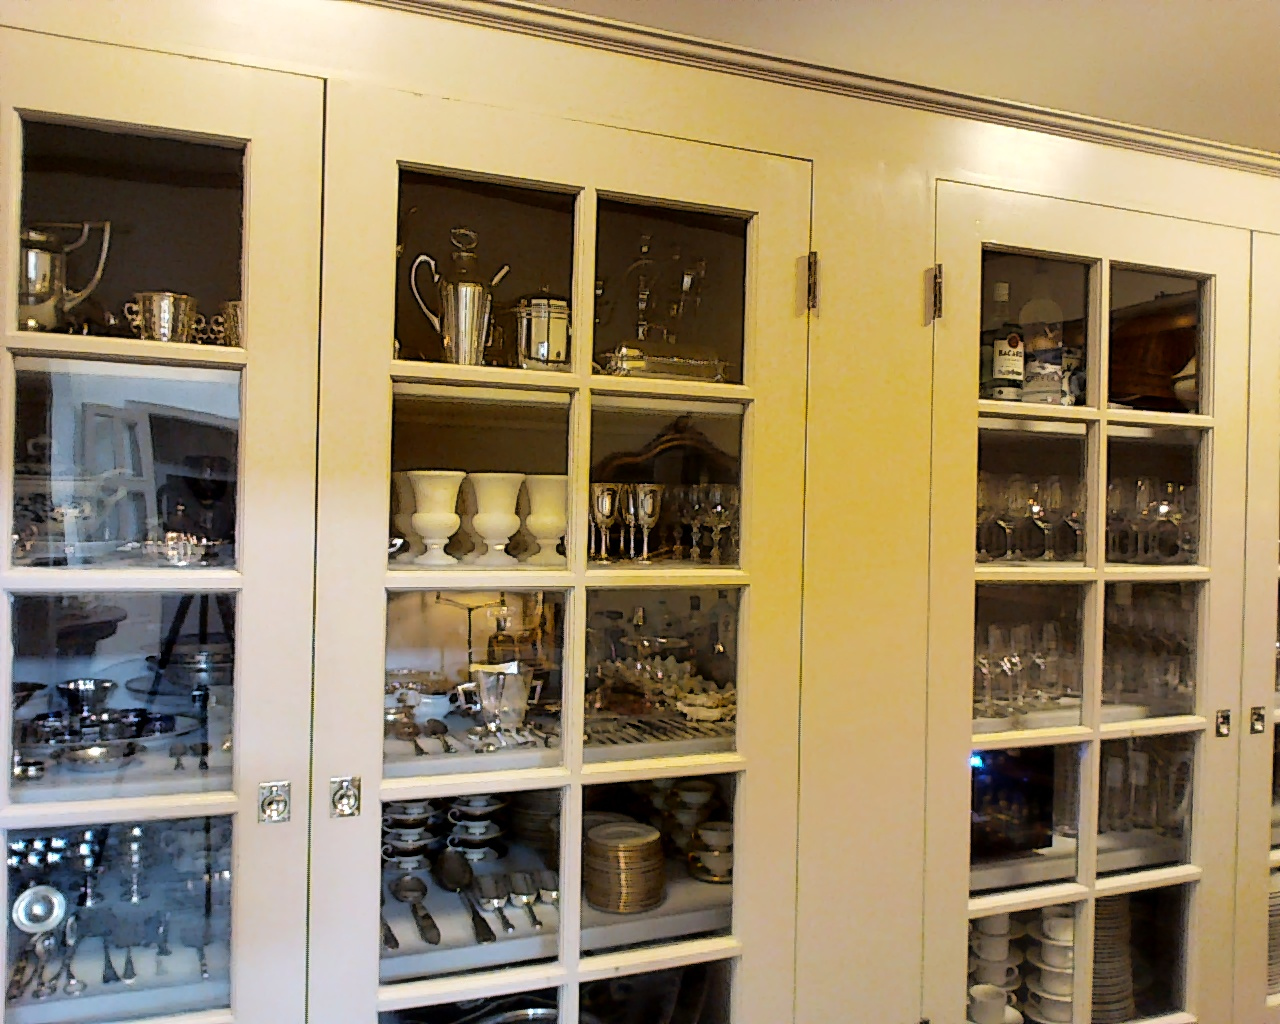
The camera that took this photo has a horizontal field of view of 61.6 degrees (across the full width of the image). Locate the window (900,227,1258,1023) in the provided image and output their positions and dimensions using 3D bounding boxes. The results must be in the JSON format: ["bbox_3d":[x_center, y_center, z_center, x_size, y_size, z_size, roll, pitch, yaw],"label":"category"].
[{"bbox_3d":[1.030,0.300,2.500,0.820,1.780,0.240,1,0,-22],"label":"window"}]

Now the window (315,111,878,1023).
[{"bbox_3d":[-0.070,0.440,2.080,1.040,2.180,0.280,1,0,-22],"label":"window"}]

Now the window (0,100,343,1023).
[{"bbox_3d":[-0.830,0.300,1.610,0.720,1.770,0.080,1,0,-22],"label":"window"}]
